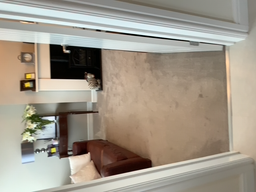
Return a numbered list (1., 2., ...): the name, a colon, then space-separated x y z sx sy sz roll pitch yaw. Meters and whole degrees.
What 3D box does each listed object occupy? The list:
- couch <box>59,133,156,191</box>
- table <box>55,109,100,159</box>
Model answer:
1. couch: -0.390 1.200 2.900 1.590 0.800 1.090 -4 88 64
2. table: -1.000 0.690 4.150 0.490 0.730 0.840 -5 87 64
